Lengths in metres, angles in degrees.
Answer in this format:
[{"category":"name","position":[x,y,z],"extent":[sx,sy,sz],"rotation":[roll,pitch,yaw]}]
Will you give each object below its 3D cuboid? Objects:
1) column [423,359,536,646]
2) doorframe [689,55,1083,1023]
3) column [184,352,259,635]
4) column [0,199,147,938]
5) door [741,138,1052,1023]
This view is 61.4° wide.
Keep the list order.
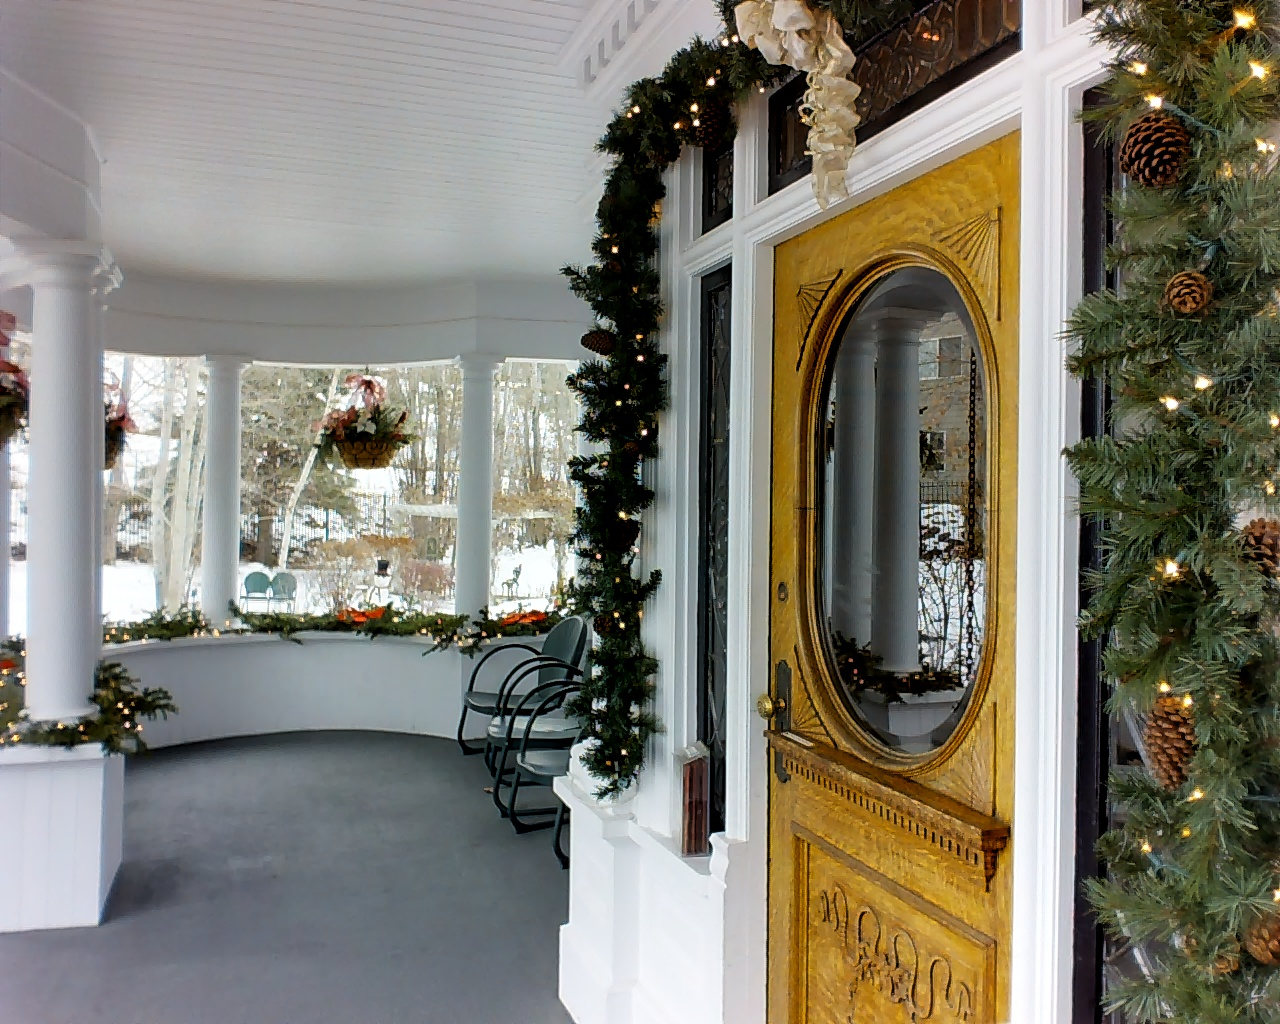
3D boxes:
[{"category":"column","position":[-1.030,-0.060,6.960],"extent":[0.670,1.801,0.340],"rotation":[0,0,2]},{"category":"doorframe","position":[0.380,0.430,2.030],"extent":[0.190,2.141,1.040],"rotation":[0,0,-20]},{"category":"column","position":[-2.729,-0.120,7.020],"extent":[0.390,1.781,0.300],"rotation":[0,1,-35]},{"category":"column","position":[-2.149,0.190,3.930],"extent":[0.590,2.471,0.620],"rotation":[0,0,-20]},{"category":"door","position":[0.430,0.460,2.040],"extent":[0.120,2.041,0.860],"rotation":[0,0,-20]}]
